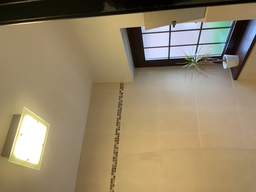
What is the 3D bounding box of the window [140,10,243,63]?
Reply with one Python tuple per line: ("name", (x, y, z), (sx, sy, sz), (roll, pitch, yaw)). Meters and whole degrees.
("window", (0.620, -0.590, 2.260), (0.640, 0.940, 0.040), (76, -164, -57))
